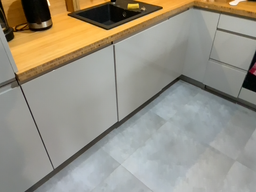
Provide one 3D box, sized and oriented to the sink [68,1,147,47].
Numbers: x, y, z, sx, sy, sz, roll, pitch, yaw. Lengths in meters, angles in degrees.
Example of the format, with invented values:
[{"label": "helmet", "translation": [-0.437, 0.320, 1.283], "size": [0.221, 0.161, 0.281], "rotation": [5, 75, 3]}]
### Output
[{"label": "sink", "translation": [-0.150, -0.560, 1.590], "size": [0.420, 0.140, 0.400], "rotation": [30, 48, 33]}]
